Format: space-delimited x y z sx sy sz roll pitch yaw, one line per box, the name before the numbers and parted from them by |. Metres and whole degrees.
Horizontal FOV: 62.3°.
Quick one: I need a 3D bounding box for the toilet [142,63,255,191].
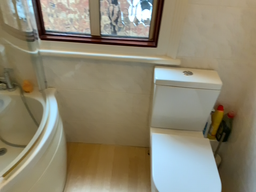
toilet | 0.320 0.340 1.260 0.390 0.800 0.700 4 37 0
